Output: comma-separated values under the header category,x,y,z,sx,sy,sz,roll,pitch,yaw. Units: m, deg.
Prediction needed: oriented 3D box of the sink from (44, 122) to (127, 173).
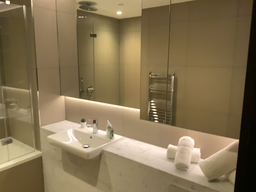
category,x,y,z,sx,sy,sz,roll,pitch,yaw
sink,-0.380,0.430,1.930,0.580,0.170,0.470,8,13,36
